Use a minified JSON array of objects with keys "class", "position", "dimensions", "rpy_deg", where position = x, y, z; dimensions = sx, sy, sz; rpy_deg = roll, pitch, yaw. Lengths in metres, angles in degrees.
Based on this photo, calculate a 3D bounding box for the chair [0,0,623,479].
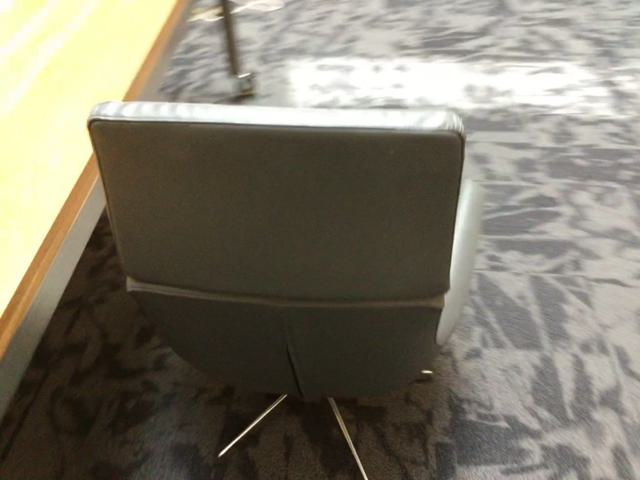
[{"class":"chair","position":[-0.040,-0.010,1.140],"dimensions":[0.790,0.950,0.780],"rpy_deg":[11,45,10]}]
